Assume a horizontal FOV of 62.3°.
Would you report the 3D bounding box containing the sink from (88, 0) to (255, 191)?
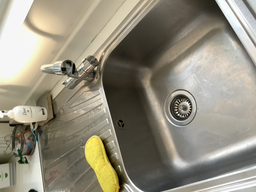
[{"bbox_3d":[0.150,-0.020,0.570,0.460,0.200,0.520,-35,62,38],"label":"sink"}]
